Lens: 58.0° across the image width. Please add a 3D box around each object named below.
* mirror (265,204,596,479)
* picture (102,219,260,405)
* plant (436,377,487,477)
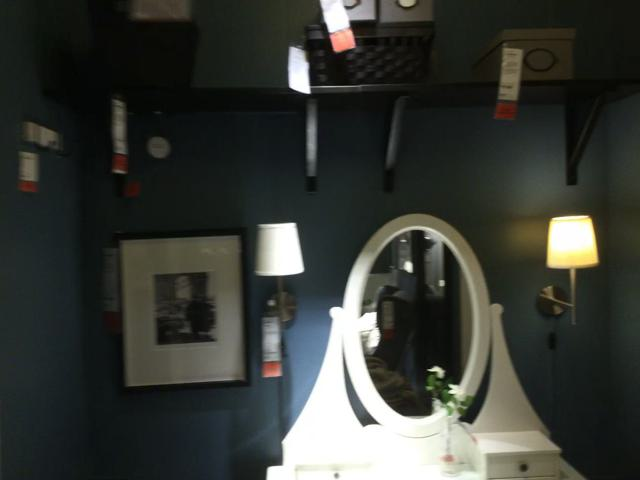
[{"bbox_3d":[0.340,0.320,1.880,0.990,0.820,0.150,-3,-3,-1],"label":"mirror"},{"bbox_3d":[-0.450,0.230,1.890,0.480,0.570,0.080,-3,-3,-1],"label":"picture"},{"bbox_3d":[0.440,0.580,1.810,0.110,0.270,0.130,-3,-3,-1],"label":"plant"}]
